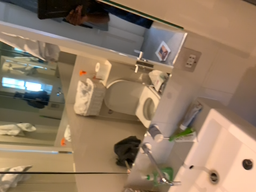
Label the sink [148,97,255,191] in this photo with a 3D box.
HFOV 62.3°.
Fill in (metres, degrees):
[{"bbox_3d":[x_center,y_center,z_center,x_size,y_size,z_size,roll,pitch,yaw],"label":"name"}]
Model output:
[{"bbox_3d":[0.340,0.390,0.930,0.470,0.130,0.620,52,128,57],"label":"sink"}]
